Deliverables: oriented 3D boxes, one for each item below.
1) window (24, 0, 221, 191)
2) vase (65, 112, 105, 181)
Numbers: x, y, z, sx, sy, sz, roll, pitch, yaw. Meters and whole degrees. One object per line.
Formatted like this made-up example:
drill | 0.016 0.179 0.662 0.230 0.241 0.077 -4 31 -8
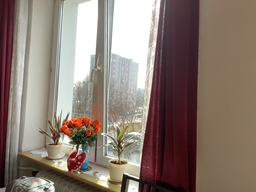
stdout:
window | -0.180 -0.250 1.780 1.660 1.820 0.360 4 1 34
vase | -0.350 0.390 1.730 0.190 0.490 0.210 5 1 38
